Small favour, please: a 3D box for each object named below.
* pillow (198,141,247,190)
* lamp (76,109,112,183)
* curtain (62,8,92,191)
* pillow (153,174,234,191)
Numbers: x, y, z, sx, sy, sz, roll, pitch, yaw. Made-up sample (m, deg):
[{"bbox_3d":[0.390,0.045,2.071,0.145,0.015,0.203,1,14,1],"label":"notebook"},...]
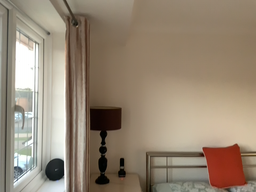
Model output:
[{"bbox_3d":[0.980,0.720,2.230,0.370,0.420,0.240,1,9,-4],"label":"pillow"},{"bbox_3d":[-0.340,0.490,2.190,0.330,0.700,0.300,0,-1,-3],"label":"lamp"},{"bbox_3d":[-0.370,0.110,1.580,0.160,1.400,0.310,1,-1,-5],"label":"curtain"},{"bbox_3d":[0.620,0.950,2.110,0.650,0.160,0.510,1,-1,-3],"label":"pillow"}]
